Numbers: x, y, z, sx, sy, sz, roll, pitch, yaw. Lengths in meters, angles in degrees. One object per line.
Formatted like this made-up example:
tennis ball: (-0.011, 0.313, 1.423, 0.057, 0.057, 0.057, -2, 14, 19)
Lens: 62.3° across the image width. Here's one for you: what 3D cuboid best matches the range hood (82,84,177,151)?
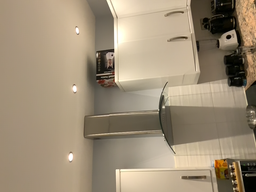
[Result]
range hood: (0.020, 0.230, 2.050, 0.290, 0.840, 0.550, 53, -146, -71)
